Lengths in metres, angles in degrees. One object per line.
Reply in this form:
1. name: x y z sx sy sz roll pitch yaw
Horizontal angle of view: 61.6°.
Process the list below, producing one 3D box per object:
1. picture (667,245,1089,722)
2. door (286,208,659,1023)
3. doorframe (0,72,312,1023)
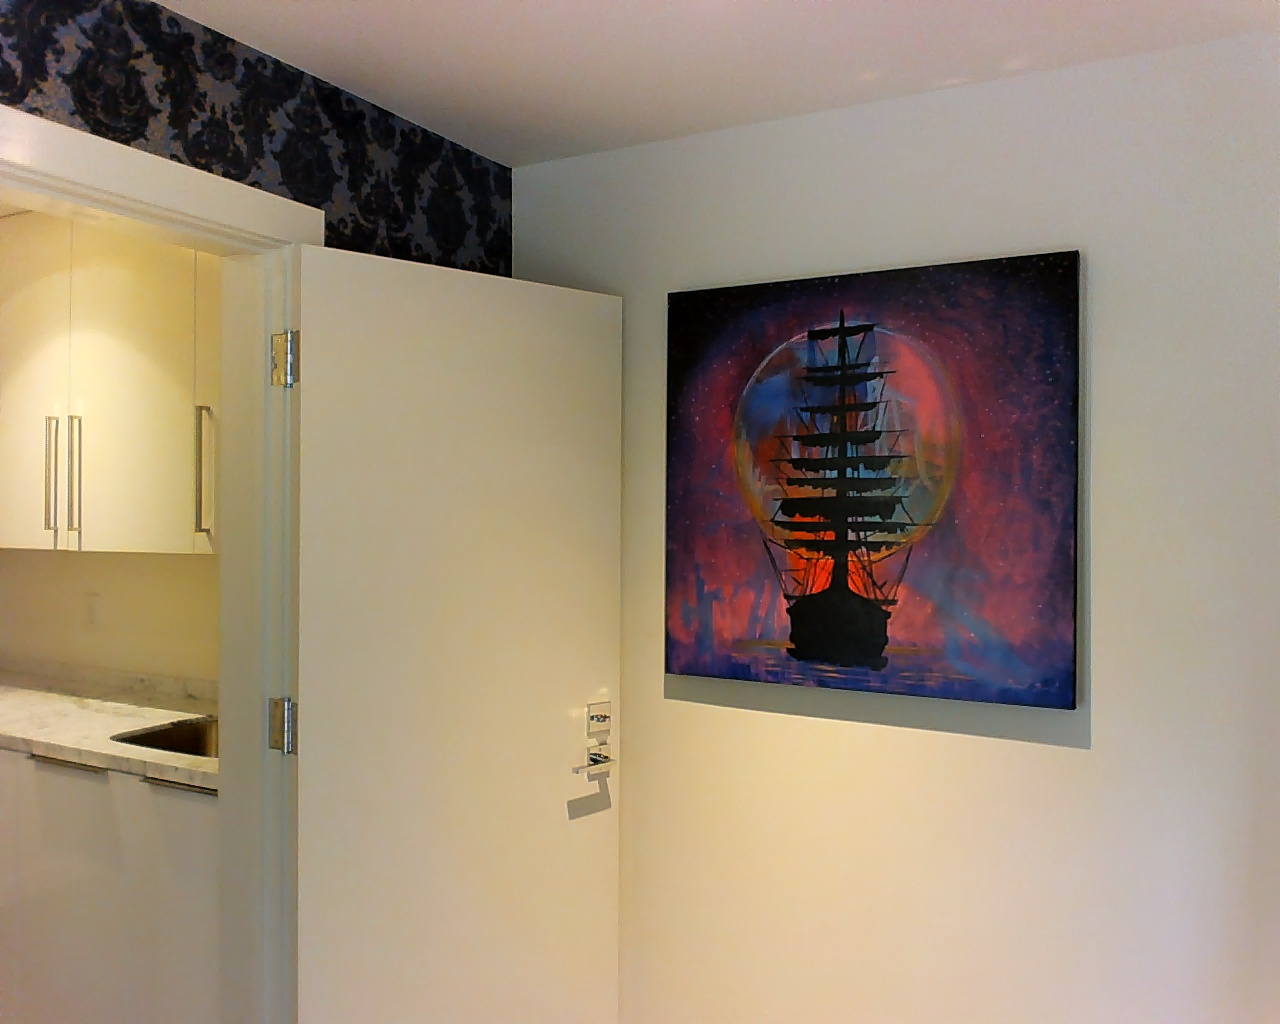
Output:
1. picture: 0.480 -0.060 2.360 0.930 0.940 0.030 1 0 30
2. door: -0.330 0.460 2.390 0.900 2.100 0.040 1 0 -38
3. doorframe: -0.990 0.420 1.850 0.240 2.170 0.870 1 0 29
